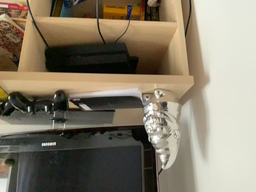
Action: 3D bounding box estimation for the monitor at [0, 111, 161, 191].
[{"bbox_3d":[-0.290,0.360,0.750,0.810,0.550,0.060,-6,160,16],"label":"monitor"}]
